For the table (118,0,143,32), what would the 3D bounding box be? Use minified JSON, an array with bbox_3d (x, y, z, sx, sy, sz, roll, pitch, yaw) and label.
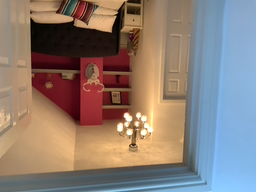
[{"bbox_3d":[0.030,-1.620,3.860,0.340,0.790,0.530,0,-173,-12],"label":"table"}]
